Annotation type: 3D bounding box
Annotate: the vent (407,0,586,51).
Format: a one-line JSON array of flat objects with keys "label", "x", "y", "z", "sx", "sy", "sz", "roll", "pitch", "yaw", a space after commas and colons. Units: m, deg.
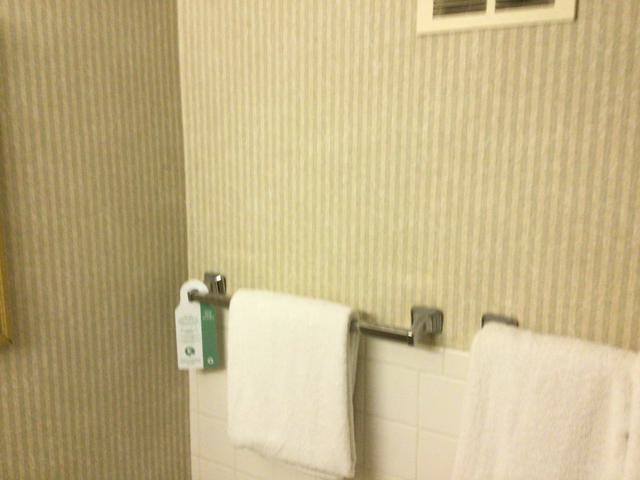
[{"label": "vent", "x": 0.260, "y": -0.460, "z": 0.880, "sx": 0.270, "sy": 0.300, "sz": 0.010, "roll": 2, "pitch": 8, "yaw": 30}]
